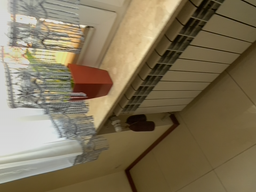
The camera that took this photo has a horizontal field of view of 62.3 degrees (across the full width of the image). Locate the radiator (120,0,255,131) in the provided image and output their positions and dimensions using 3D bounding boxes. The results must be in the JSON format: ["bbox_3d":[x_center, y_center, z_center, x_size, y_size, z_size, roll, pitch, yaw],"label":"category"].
[{"bbox_3d":[0.460,-0.230,1.130,1.190,0.560,0.150,-56,49,39],"label":"radiator"}]
